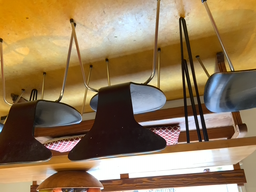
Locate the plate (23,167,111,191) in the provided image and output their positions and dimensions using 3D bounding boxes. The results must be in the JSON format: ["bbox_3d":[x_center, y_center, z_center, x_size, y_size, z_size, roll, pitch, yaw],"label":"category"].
[{"bbox_3d":[-0.300,0.500,1.120,0.340,0.180,0.310,-9,154,12],"label":"plate"}]
